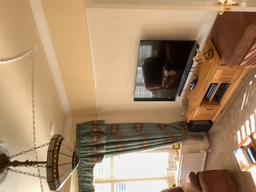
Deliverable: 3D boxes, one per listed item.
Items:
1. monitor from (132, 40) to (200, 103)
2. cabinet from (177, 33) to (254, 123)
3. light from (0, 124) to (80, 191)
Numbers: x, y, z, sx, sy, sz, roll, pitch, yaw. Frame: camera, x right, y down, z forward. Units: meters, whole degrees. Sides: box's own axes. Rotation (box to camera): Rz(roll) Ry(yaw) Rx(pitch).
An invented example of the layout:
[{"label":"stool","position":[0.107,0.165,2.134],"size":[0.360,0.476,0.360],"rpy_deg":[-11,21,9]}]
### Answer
[{"label":"monitor","position":[0.510,-0.310,3.240],"size":[1.240,0.790,0.080],"rpy_deg":[96,171,-50]},{"label":"cabinet","position":[1.190,-0.200,3.180],"size":[1.350,0.480,0.530],"rpy_deg":[96,171,-50]},{"label":"light","position":[-0.670,0.480,1.580],"size":[0.330,0.520,0.400],"rpy_deg":[95,178,-49]}]
